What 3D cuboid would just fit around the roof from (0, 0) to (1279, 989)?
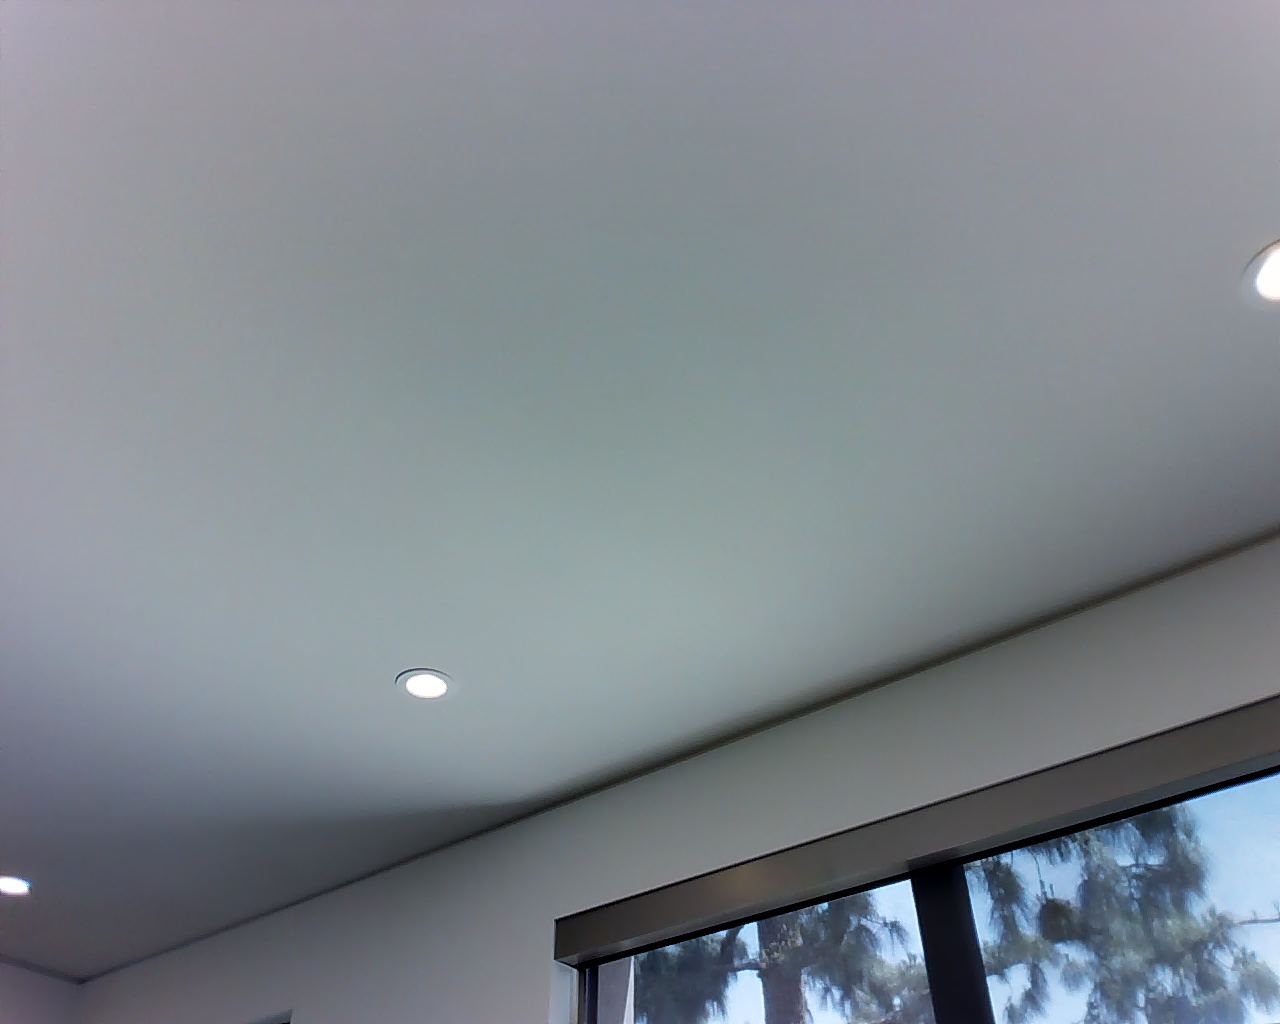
[{"bbox_3d":[-0.910,-0.040,1.860,4.719,0.040,3.090,-24,-47,25],"label":"roof"}]
